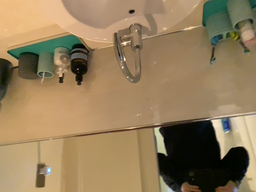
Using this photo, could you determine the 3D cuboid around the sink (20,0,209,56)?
[{"bbox_3d":[-0.030,-0.400,0.780,0.600,0.180,0.480,-9,160,14],"label":"sink"}]
